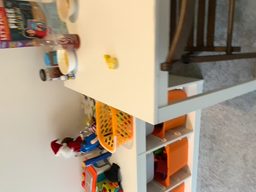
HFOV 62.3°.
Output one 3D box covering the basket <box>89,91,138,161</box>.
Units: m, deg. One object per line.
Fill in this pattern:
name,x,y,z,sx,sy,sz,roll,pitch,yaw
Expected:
basket,-0.080,0.140,1.100,0.240,0.120,0.290,11,109,53
